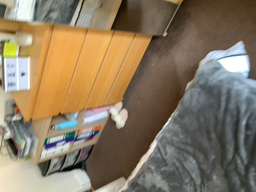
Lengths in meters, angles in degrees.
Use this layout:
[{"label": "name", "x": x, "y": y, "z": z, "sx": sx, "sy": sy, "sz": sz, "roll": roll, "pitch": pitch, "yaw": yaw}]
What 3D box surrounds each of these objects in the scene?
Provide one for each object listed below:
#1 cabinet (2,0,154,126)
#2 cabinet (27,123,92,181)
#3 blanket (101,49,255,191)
[{"label": "cabinet", "x": -0.420, "y": -0.300, "z": 1.820, "sx": 0.510, "sy": 0.980, "sz": 0.790, "roll": 47, "pitch": 125, "yaw": 29}, {"label": "cabinet", "x": -0.860, "y": 0.680, "z": 2.670, "sx": 0.410, "sy": 0.600, "sz": 0.380, "roll": 47, "pitch": 125, "yaw": 29}, {"label": "blanket", "x": 0.370, "y": 0.550, "z": 1.370, "sx": 0.730, "sy": 0.420, "sz": 1.490, "roll": 47, "pitch": 125, "yaw": 29}]
